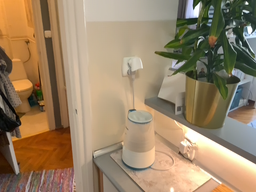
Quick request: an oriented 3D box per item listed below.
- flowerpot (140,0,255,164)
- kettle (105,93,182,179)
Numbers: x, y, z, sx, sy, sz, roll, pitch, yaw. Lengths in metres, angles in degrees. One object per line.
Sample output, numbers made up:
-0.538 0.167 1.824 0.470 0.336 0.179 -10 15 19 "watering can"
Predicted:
0.460 -0.300 1.030 0.580 0.960 0.490 -15 28 -33 "flowerpot"
0.070 0.180 1.070 0.270 0.270 0.250 -16 29 -35 "kettle"
